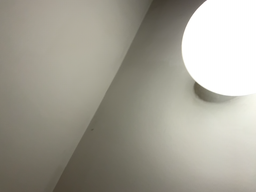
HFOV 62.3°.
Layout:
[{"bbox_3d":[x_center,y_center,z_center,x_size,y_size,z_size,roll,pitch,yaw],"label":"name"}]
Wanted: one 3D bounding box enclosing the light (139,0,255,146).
[{"bbox_3d":[0.210,-0.080,0.380,0.240,0.230,0.260,48,-125,-45],"label":"light"}]
